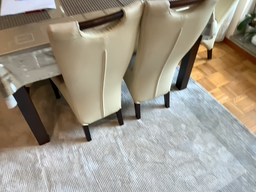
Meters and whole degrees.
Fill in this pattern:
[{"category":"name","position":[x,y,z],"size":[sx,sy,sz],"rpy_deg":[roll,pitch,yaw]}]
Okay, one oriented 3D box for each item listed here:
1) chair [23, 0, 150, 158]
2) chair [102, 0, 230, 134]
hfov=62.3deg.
[{"category":"chair","position":[-0.240,-0.150,1.300],"size":[0.430,0.930,0.540],"rpy_deg":[-21,52,-20]},{"category":"chair","position":[0.160,-0.290,1.430],"size":[0.450,0.930,0.540],"rpy_deg":[-21,52,-20]}]
